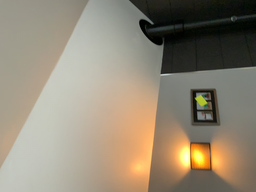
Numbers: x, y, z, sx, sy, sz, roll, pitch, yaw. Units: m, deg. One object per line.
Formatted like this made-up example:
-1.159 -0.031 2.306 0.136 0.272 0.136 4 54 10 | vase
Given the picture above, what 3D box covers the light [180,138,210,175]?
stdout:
0.590 0.530 1.870 0.220 0.230 0.240 65 -151 -48 | light
